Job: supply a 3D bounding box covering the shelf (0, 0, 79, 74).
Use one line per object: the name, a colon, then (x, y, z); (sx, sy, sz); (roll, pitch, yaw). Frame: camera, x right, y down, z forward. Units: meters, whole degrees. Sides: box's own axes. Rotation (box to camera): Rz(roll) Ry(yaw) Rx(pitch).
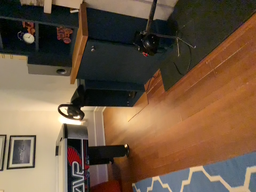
shelf: (-1.120, -0.500, 1.580); (0.570, 1.380, 0.330); (132, 135, -57)
